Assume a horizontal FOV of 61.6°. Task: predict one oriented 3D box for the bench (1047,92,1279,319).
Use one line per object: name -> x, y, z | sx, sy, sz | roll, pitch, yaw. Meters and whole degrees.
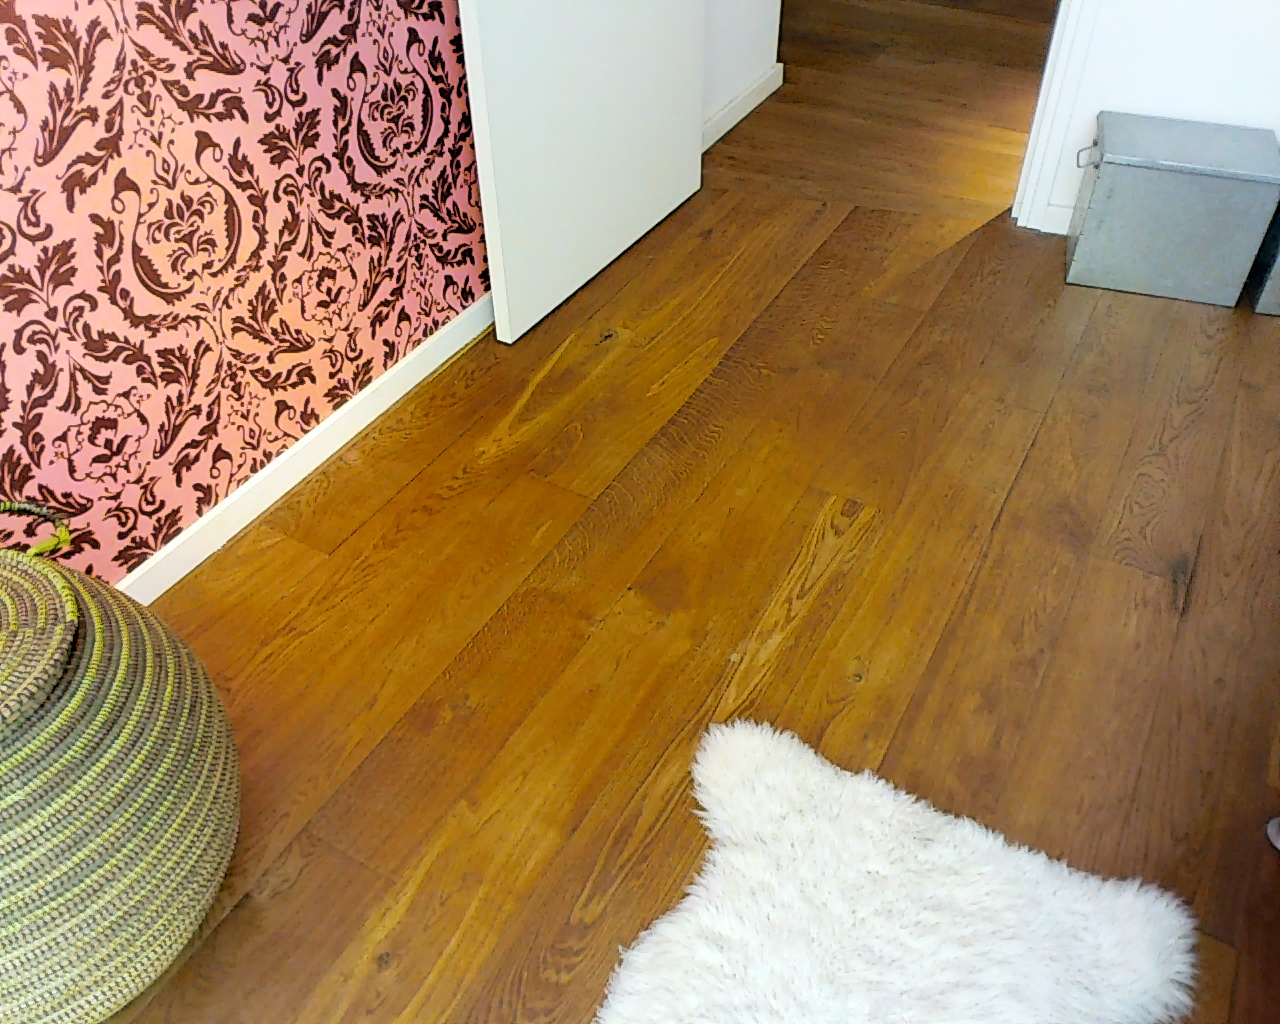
bench -> 1.540, -0.710, 2.580 | 0.990, 0.370, 0.310 | 11, 44, 12
